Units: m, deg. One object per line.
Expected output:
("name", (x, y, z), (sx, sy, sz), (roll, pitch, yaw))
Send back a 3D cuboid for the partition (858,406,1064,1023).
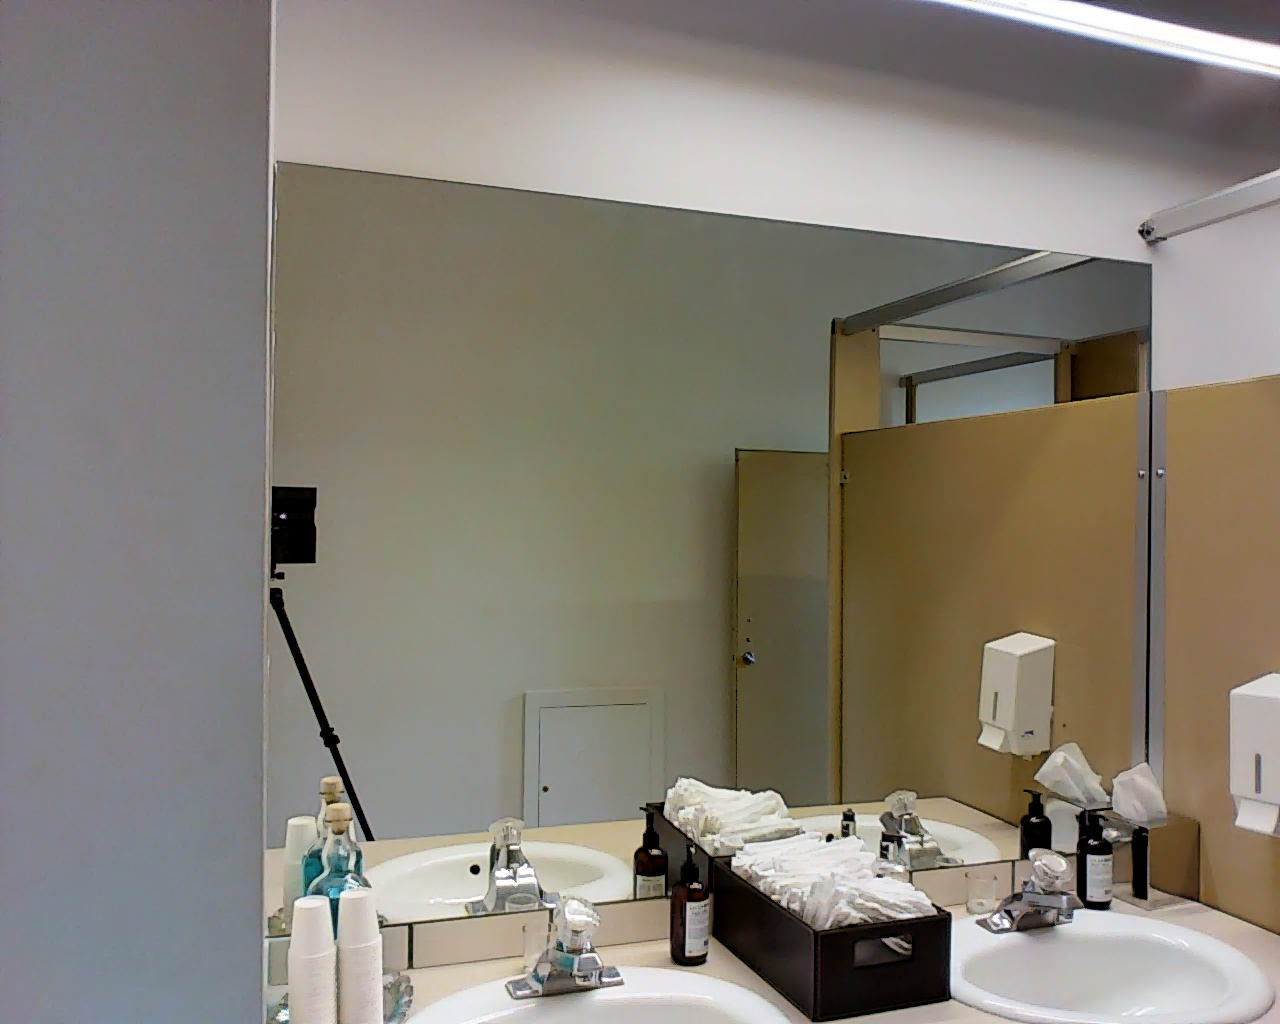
("partition", (0.750, 0.650, 2.610), (0.080, 1.750, 0.690), (1, 0, -19))
